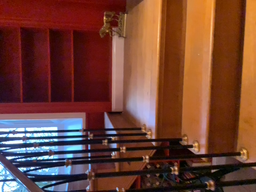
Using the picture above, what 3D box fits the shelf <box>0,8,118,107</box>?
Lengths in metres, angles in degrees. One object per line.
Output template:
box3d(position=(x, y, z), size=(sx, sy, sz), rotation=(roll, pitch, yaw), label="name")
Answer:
box3d(position=(-1.840, -0.380, 2.090), size=(0.270, 3.470, 0.970), rotation=(-161, 71, -77), label="shelf")
